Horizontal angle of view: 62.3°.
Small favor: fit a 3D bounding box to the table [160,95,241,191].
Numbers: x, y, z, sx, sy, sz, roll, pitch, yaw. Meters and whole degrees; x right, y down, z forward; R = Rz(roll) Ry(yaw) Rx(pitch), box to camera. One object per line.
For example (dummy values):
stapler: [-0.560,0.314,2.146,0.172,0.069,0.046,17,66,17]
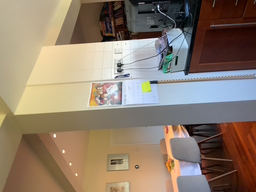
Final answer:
table: [1.160,1.230,3.750,1.090,0.810,2.310,85,-178,-47]
